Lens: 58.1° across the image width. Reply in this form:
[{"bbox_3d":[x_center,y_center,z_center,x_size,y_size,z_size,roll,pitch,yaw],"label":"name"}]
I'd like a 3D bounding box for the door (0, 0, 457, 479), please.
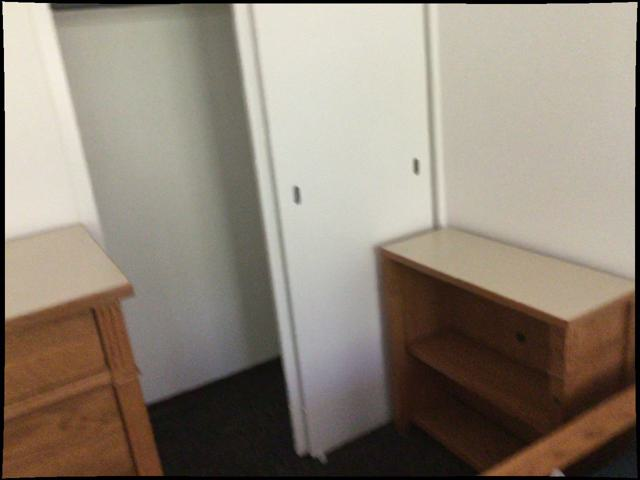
[{"bbox_3d":[-0.160,0.040,1.910,1.328,1.664,0.190,-18,22,-24],"label":"door"}]

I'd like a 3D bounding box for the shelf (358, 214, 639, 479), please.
[{"bbox_3d":[0.549,0.421,1.880,0.379,0.782,0.840,-17,22,-24],"label":"shelf"}]
